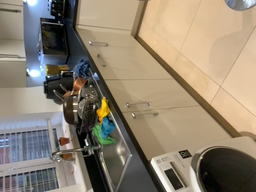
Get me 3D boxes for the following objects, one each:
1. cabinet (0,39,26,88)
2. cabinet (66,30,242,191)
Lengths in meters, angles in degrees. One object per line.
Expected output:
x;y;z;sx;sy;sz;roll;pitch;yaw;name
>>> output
-1.520;-0.360;2.280;0.510;0.730;0.330;56;140;44;cabinet
0.010;0.050;2.170;1.800;0.870;0.700;56;140;44;cabinet
